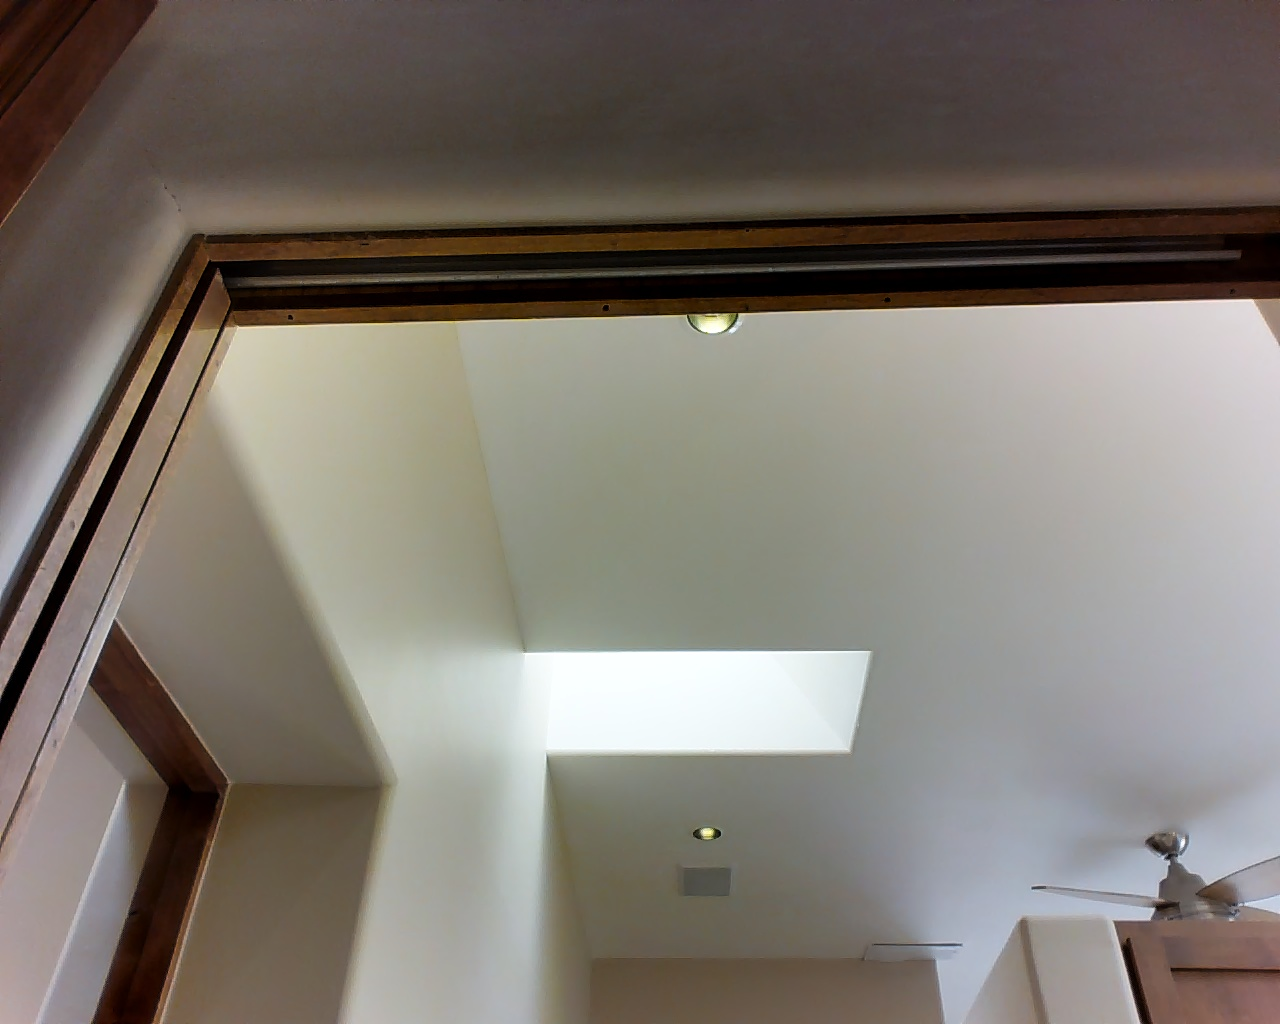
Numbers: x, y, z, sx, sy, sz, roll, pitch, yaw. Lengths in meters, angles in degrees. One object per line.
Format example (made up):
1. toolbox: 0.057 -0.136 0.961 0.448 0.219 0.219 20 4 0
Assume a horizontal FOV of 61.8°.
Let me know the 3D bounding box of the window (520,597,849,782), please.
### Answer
1. window: 0.130 0.540 3.200 0.890 0.310 0.530 0 -41 2
